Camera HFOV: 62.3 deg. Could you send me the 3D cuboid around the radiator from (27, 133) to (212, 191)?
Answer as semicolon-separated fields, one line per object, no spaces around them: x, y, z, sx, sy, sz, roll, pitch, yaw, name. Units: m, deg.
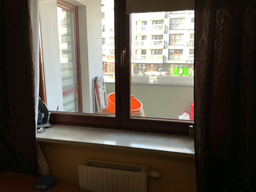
-0.110;0.780;1.660;1.350;0.840;0.180;3;12;13;radiator
